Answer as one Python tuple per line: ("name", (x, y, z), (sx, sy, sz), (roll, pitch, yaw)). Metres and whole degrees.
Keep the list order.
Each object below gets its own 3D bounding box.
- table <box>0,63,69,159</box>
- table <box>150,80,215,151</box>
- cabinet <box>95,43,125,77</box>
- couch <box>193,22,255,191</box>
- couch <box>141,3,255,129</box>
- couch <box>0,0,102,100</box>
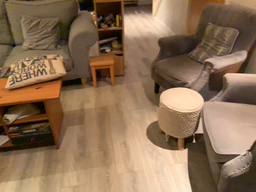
("table", (-1.140, 0.140, 1.710), (1.180, 0.510, 0.550), (-7, 34, -8))
("table", (0.410, 0.150, 1.730), (0.360, 0.390, 0.370), (-7, 34, -8))
("cabinet", (-0.240, -0.480, 2.800), (0.350, 0.320, 0.310), (-6, 34, -7))
("couch", (0.860, 0.140, 1.240), (0.750, 0.910, 0.750), (4, 34, 9))
("couch", (0.650, -0.350, 2.070), (0.750, 0.850, 0.750), (-20, 37, -25))
("couch", (-1.410, -0.630, 2.520), (2.010, 0.920, 1.010), (-8, 34, -10))
